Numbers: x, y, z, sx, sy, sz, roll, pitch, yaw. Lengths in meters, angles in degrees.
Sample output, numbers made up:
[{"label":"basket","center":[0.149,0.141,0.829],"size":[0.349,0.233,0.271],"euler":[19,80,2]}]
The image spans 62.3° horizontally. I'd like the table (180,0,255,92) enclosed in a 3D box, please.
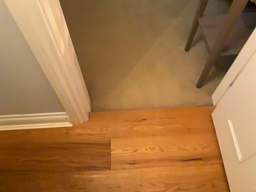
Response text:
[{"label":"table","center":[0.590,-0.380,1.010],"size":[0.450,0.690,0.390],"euler":[-4,60,-3]}]
